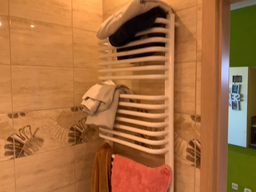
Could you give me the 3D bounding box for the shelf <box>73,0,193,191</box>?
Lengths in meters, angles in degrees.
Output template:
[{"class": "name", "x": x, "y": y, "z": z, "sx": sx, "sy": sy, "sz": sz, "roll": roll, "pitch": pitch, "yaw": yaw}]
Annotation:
[{"class": "shelf", "x": 0.000, "y": 0.060, "z": 1.170, "sx": 0.590, "sy": 1.170, "sz": 0.310, "roll": 4, "pitch": 6, "yaw": 45}]
